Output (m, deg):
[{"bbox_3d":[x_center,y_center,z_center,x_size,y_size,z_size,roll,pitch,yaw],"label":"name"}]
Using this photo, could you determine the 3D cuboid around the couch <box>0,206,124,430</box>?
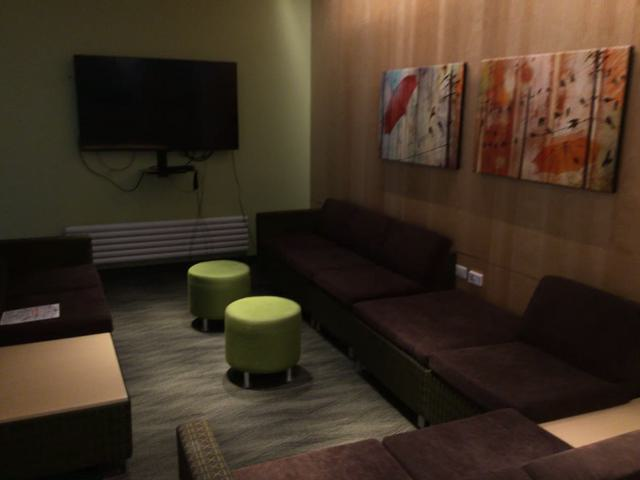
[{"bbox_3d":[-1.600,0.340,3.210,0.790,0.790,1.290,-7,15,-23],"label":"couch"}]

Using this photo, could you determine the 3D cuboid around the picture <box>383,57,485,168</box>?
[{"bbox_3d":[0.690,-0.820,3.710,0.110,0.610,0.940,-7,15,-23],"label":"picture"}]

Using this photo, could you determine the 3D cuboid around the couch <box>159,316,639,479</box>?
[{"bbox_3d":[0.380,0.800,1.540,1.410,0.770,0.750,-7,15,-23],"label":"couch"}]

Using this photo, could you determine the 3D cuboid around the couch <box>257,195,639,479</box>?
[{"bbox_3d":[0.480,0.360,3.490,0.820,0.770,2.990,-7,15,-23],"label":"couch"}]

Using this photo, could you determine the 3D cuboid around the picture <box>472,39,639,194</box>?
[{"bbox_3d":[1.100,-0.600,2.800,0.130,0.620,0.940,-7,15,-23],"label":"picture"}]
